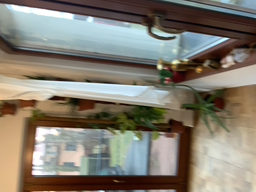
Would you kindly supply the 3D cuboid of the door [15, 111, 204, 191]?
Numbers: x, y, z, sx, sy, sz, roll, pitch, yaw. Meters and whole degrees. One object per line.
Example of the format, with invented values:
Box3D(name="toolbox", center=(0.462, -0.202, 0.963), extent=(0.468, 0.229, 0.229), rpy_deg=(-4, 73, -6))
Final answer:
Box3D(name="door", center=(-0.230, 1.960, 2.780), extent=(0.220, 2.360, 3.370), rpy_deg=(180, 95, -77))
